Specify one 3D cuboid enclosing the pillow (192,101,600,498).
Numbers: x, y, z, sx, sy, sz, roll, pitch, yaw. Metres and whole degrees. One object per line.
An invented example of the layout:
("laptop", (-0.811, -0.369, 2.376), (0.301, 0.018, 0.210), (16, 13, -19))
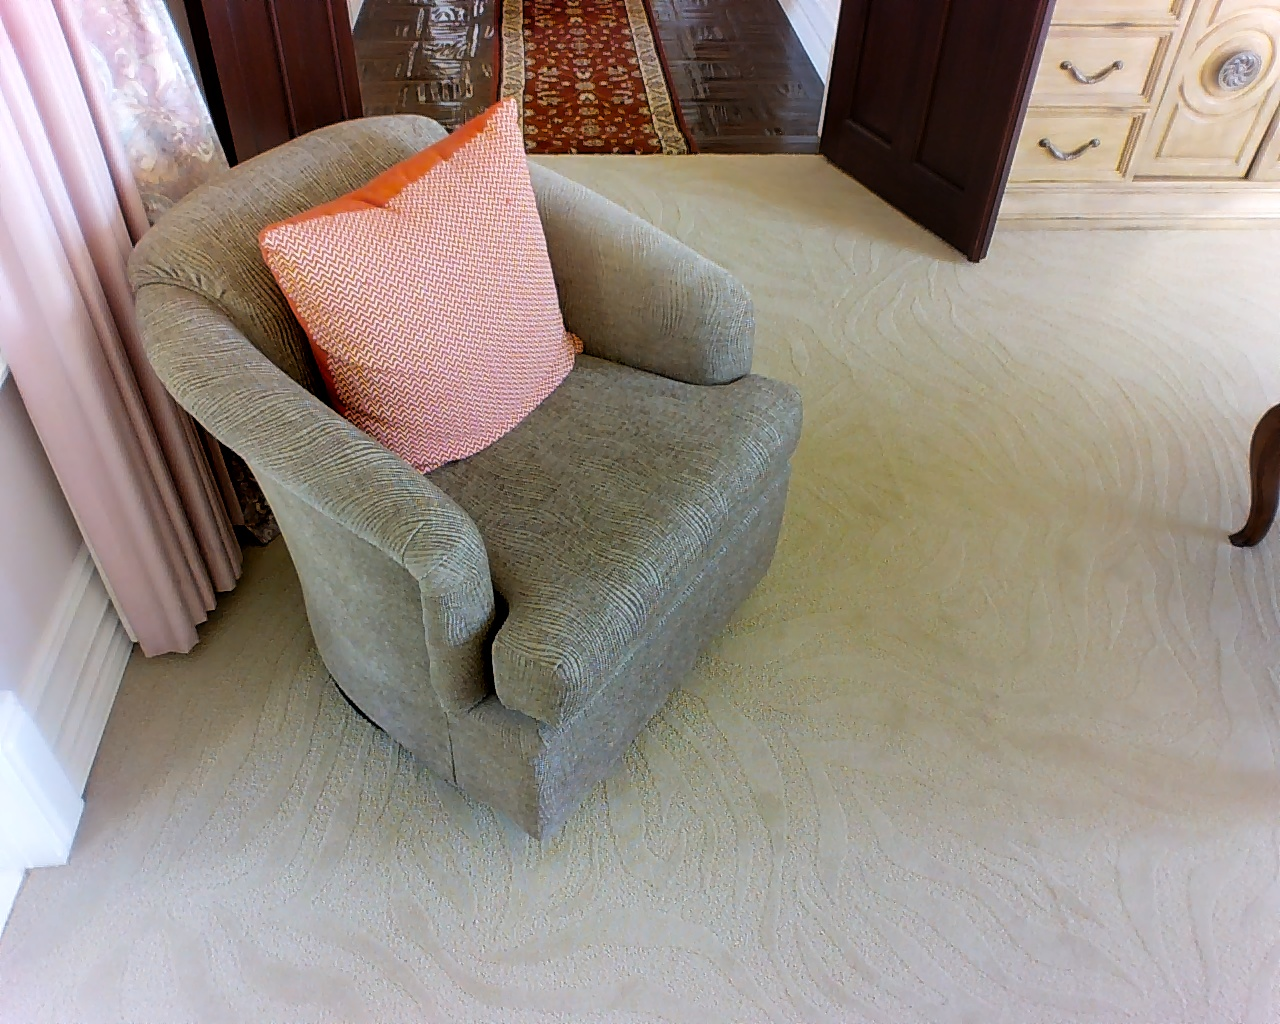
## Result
("pillow", (-0.300, -0.330, 1.510), (0.240, 0.400, 0.520), (16, 32, 26))
